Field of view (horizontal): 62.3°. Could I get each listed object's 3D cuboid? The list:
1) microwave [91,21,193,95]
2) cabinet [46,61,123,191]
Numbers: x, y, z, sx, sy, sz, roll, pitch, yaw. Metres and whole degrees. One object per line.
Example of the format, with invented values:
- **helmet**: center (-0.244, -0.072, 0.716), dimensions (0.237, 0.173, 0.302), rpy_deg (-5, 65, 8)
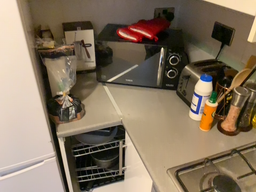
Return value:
- **microwave**: center (0.100, -0.250, 1.250), dimensions (0.500, 0.240, 0.390), rpy_deg (9, 35, 10)
- **cabinet**: center (-0.280, 0.320, 1.400), dimensions (0.300, 0.880, 0.620), rpy_deg (-11, 36, -17)
